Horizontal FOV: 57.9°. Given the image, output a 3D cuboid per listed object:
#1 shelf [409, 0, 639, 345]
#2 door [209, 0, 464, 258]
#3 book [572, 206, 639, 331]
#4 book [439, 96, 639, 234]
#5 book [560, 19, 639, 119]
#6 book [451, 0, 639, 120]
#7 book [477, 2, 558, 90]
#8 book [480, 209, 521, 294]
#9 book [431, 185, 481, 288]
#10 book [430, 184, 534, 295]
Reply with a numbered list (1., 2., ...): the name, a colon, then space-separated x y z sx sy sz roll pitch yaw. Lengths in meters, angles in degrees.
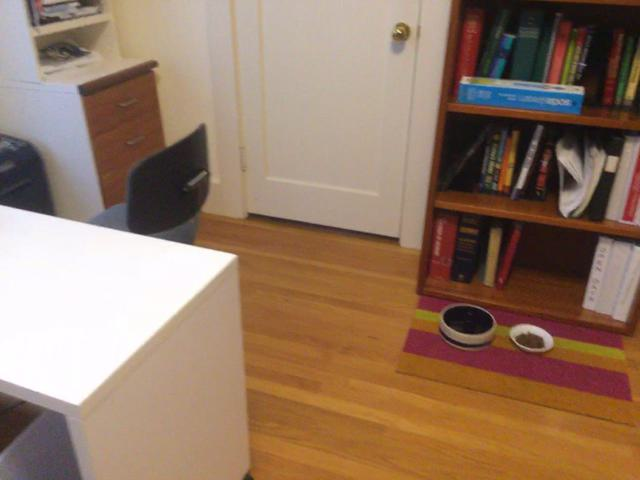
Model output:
1. shelf: 0.790 -0.610 1.790 0.790 1.830 0.400 10 28 15
2. door: 0.040 -0.890 2.110 0.940 1.940 0.110 10 28 15
3. book: 1.010 0.090 2.030 0.150 0.310 0.310 10 28 15
4. book: 0.780 -0.270 1.970 0.670 0.310 0.310 10 28 15
5. book: 0.860 -0.540 1.800 0.150 0.240 0.310 10 28 15
6. book: 0.800 -0.590 1.860 0.680 0.300 0.260 10 28 15
7. book: 0.640 -0.640 1.880 0.200 0.220 0.300 10 28 15
8. book: 0.670 0.040 2.150 0.100 0.250 0.180 10 28 15
9. book: 0.530 -0.020 2.240 0.120 0.280 0.310 10 28 15
10. book: 0.610 -0.010 2.180 0.320 0.290 0.250 10 28 15
